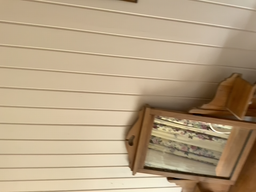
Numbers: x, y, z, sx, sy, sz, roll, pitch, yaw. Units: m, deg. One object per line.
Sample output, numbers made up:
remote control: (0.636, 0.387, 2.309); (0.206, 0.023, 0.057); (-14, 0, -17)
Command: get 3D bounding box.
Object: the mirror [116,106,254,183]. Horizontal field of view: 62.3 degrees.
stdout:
mirror: (0.310, 0.290, 1.130); (0.050, 0.660, 0.380); (-114, 41, -59)
